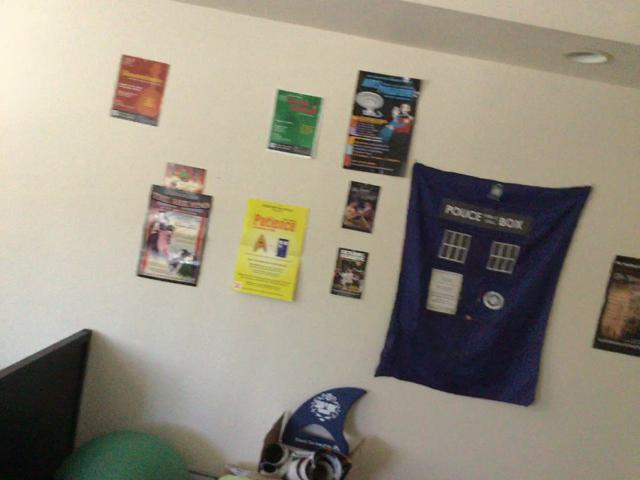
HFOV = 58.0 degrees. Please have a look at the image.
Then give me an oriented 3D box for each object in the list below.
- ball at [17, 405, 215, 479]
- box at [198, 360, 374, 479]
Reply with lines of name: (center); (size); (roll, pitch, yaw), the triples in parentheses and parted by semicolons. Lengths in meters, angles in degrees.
ball: (-0.830, 1.090, 2.340); (0.600, 0.580, 0.510); (12, 0, 1)
box: (-0.180, 1.060, 2.390); (0.590, 0.910, 0.530); (12, 0, 1)
